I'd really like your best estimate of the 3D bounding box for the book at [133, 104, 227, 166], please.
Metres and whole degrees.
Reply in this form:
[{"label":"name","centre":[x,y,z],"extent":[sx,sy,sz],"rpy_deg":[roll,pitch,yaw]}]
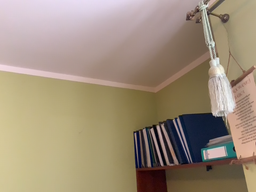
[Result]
[{"label":"book","centre":[0.330,0.340,1.630],"extent":[0.290,0.340,0.720],"rpy_deg":[6,-22,-23]}]
